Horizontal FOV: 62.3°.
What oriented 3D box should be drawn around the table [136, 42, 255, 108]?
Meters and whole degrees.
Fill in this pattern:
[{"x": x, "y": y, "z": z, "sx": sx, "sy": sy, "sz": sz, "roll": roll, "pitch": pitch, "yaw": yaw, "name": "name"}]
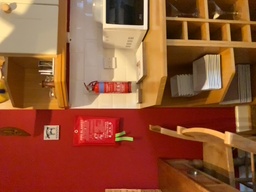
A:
[{"x": 0.520, "y": -0.080, "z": 1.330, "sx": 0.610, "sy": 0.840, "sz": 0.280, "roll": 142, "pitch": 128, "yaw": -81, "name": "table"}]
